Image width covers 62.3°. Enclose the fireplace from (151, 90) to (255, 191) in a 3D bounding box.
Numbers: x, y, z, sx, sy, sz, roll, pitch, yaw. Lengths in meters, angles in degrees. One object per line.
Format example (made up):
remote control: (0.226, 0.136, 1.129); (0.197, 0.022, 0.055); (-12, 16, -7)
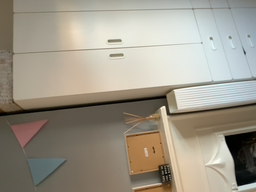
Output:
fireplace: (0.760, 0.440, 1.530); (0.230, 1.020, 0.890); (121, 142, -71)
